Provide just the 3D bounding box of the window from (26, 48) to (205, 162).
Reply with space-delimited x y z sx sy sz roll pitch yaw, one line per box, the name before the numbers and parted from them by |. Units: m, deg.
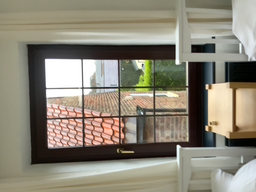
window | -0.080 0.080 1.940 0.080 1.590 0.980 -165 75 -83
